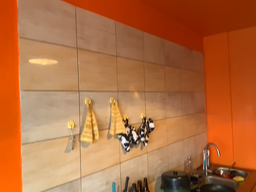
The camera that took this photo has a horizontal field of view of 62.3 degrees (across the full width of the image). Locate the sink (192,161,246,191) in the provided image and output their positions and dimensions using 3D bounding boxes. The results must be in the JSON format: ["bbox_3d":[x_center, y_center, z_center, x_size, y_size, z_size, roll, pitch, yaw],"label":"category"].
[{"bbox_3d":[1.060,0.960,2.460,0.450,0.210,0.490,-2,-1,40],"label":"sink"}]
